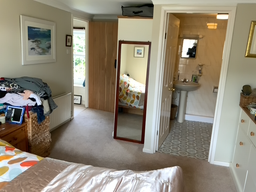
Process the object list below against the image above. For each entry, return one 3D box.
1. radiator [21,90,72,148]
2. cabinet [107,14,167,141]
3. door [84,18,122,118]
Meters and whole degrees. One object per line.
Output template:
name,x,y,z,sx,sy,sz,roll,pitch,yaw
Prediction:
radiator,-1.300,0.320,3.560,0.150,0.650,1.100,7,14,15
cabinet,0.230,-0.410,4.030,0.640,1.930,1.560,7,14,16
door,-0.600,-0.610,4.800,0.790,2.150,0.210,8,14,18
